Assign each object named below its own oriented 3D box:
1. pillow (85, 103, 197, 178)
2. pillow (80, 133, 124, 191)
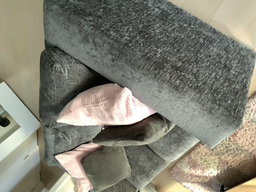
[{"bbox_3d":[0.050,0.200,1.200,0.490,0.390,0.170,3,112,56],"label":"pillow"},{"bbox_3d":[-0.210,0.570,1.760,0.120,0.330,0.460,-147,54,-64],"label":"pillow"}]
